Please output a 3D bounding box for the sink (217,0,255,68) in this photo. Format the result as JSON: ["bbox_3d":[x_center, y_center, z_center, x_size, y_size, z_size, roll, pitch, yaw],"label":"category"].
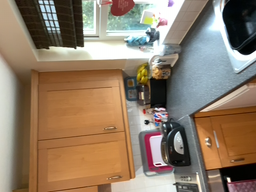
[{"bbox_3d":[0.650,-0.390,1.020,0.380,0.160,0.370,116,148,-69],"label":"sink"}]
